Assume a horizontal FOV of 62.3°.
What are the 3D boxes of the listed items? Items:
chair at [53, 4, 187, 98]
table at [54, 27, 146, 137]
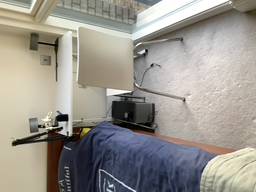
[{"bbox_3d":[-0.050,-0.240,1.600,0.510,0.860,0.500,-2,87,56],"label":"chair"},{"bbox_3d":[-0.250,-0.100,1.990,0.390,0.760,0.840,-2,87,56],"label":"table"}]
